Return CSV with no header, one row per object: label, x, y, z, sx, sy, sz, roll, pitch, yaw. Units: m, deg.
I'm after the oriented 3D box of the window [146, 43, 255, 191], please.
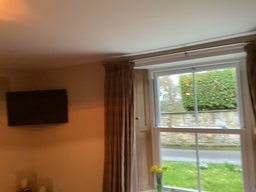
window,0.860,0.410,2.630,1.240,1.880,0.230,-3,-3,33
